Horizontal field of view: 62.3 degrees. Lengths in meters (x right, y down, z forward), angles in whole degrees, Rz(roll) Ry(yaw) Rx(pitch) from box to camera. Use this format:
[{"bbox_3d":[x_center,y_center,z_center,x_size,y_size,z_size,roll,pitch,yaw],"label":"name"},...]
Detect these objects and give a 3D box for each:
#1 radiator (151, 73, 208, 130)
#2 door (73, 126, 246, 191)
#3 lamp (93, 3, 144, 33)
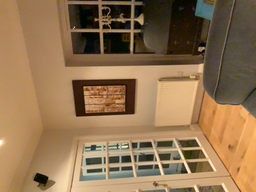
[{"bbox_3d":[0.770,0.110,3.320,0.120,0.740,0.940,-103,13,-60],"label":"radiator"},{"bbox_3d":[0.330,1.020,2.620,1.760,1.920,0.190,-103,13,-60],"label":"door"},{"bbox_3d":[-0.130,-1.020,2.760,0.240,0.630,0.330,-103,13,-61],"label":"lamp"}]
